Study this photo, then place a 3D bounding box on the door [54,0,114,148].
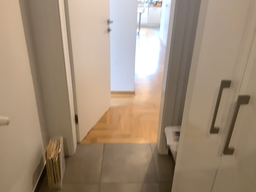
[{"bbox_3d":[-0.360,-0.580,2.060,0.080,2.050,0.880,11,27,18],"label":"door"}]
